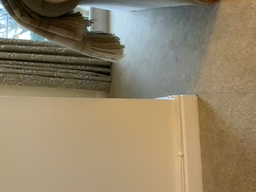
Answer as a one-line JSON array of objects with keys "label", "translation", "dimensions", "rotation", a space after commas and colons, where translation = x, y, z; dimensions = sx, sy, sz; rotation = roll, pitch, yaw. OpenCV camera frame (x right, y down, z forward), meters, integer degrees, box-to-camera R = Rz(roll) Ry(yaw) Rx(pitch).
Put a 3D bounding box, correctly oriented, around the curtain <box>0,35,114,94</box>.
[{"label": "curtain", "translation": [-1.200, -0.260, 1.610], "dimensions": [0.180, 2.240, 0.410], "rotation": [162, 108, -67]}]
